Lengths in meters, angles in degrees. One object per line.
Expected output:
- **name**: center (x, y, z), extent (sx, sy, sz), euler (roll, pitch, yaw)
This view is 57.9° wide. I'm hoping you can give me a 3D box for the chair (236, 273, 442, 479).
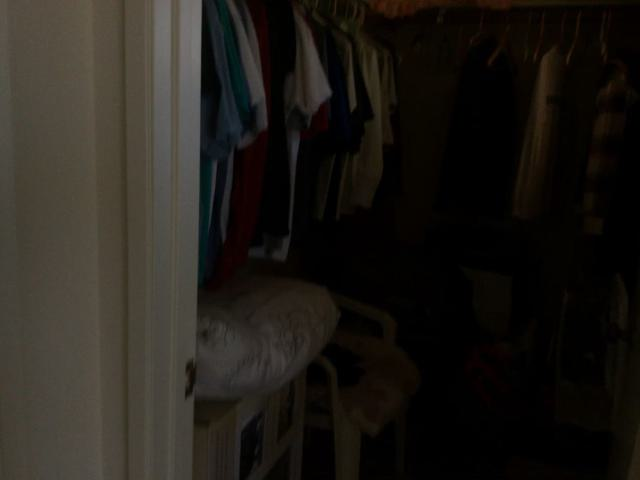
- **chair**: center (0.090, 0.560, 2.090), extent (0.520, 0.700, 0.640), euler (7, 12, 22)
